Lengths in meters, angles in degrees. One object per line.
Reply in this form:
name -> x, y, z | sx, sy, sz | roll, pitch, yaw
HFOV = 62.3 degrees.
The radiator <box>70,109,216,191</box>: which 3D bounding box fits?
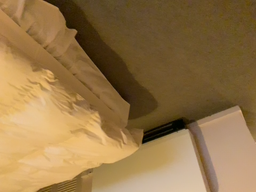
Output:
radiator -> 0.040, 0.690, 1.870 | 1.240, 0.770, 0.200 | -24, 133, 19
